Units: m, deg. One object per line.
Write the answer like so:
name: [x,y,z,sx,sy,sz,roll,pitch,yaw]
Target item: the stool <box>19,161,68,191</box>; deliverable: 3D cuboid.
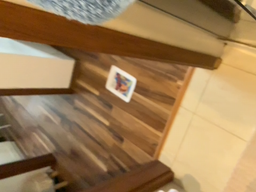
stool: [-0.930,0.980,2.330,0.310,0.350,0.320,35,114,36]
